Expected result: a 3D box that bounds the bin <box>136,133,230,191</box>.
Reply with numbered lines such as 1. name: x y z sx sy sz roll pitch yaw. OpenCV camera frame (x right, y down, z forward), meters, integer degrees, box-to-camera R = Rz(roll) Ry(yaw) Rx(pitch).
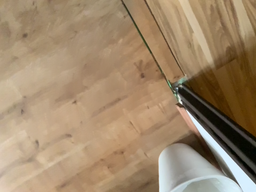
1. bin: 0.220 0.360 0.850 0.280 0.250 0.230 -29 107 6
